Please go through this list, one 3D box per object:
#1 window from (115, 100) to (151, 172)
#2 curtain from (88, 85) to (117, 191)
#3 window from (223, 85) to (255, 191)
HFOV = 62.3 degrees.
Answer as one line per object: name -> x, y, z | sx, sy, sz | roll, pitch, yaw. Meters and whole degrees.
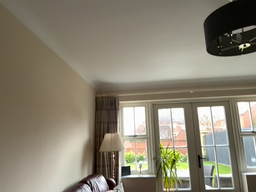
window -> 0.080, 0.720, 3.930 | 0.600, 1.270, 0.060 | -3, -11, 3
curtain -> -0.450, 0.770, 3.730 | 0.420, 1.860, 0.410 | -3, -11, 4
window -> 2.160, 0.890, 3.660 | 0.700, 2.170, 0.140 | -2, -11, 0
